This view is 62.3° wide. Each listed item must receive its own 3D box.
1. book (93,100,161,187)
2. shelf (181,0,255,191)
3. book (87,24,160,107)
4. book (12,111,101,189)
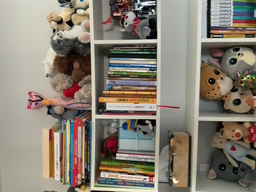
[{"bbox_3d":[0.000,0.210,1.030,0.220,0.290,0.350,-45,-44,-83],"label":"book"},{"bbox_3d":[0.430,-0.070,0.950,0.210,0.300,1.030,-53,-36,-82],"label":"shelf"},{"bbox_3d":[-0.010,-0.140,0.980,0.230,0.290,0.330,-64,-25,-79],"label":"book"},{"bbox_3d":[-0.330,0.250,1.040,0.190,0.360,0.310,-60,-30,-81],"label":"book"}]
